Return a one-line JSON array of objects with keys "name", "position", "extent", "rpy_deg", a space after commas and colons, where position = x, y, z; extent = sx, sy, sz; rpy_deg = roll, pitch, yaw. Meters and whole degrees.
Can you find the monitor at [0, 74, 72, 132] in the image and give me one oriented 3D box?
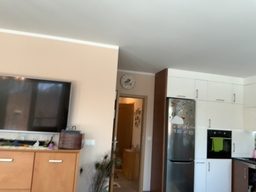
[{"name": "monitor", "position": [-1.410, 0.090, 2.750], "extent": [1.260, 0.690, 0.070], "rpy_deg": [5, -10, -14]}]
